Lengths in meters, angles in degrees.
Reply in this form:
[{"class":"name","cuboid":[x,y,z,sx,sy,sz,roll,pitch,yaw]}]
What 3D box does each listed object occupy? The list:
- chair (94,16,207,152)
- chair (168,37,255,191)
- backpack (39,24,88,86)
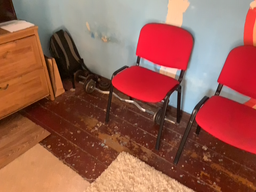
[{"class":"chair","cuboid":[0.160,-0.130,1.800,0.630,0.840,0.550,26,42,30]},{"class":"chair","cuboid":[0.750,0.160,1.430,0.630,0.840,0.570,26,42,30]},{"class":"backpack","cuboid":[-0.740,-0.490,2.500,0.360,0.570,0.320,26,42,29]}]
